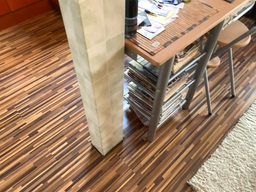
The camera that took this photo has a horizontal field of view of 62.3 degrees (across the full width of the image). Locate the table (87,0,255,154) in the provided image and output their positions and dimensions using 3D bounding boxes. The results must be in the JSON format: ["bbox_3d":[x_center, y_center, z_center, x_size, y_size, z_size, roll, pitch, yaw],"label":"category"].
[{"bbox_3d":[0.380,-0.290,1.410,1.170,0.790,0.410,-34,60,-26],"label":"table"}]
